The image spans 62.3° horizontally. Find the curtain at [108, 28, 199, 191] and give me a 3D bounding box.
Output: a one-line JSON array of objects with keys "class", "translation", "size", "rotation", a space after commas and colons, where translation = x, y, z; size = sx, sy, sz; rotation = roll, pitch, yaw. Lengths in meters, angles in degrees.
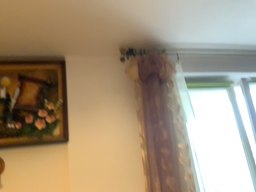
[{"class": "curtain", "translation": [0.240, 0.850, 1.330], "size": [0.430, 2.850, 0.250], "rotation": [-3, -19, -14]}]
